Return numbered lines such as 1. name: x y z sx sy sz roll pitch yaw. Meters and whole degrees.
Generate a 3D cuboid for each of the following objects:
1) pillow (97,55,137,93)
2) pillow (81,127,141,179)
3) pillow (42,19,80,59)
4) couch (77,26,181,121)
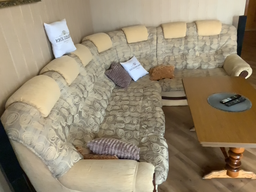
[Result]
1. pillow: -0.160 -0.310 3.010 0.450 0.350 0.220 -30 71 -33
2. pillow: -0.110 0.430 1.640 0.390 0.270 0.240 2 28 11
3. pillow: -0.680 -0.600 2.200 0.200 0.330 0.350 -1 27 7
4. couch: -0.030 -0.470 3.340 0.830 0.980 1.430 -23 33 -32
